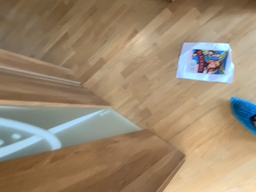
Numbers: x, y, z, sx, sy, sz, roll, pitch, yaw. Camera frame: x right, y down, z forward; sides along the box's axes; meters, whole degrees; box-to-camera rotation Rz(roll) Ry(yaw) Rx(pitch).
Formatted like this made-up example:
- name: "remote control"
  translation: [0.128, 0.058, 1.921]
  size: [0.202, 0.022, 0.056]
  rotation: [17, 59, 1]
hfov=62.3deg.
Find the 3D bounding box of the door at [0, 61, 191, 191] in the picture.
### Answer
- name: "door"
  translation: [-0.380, 0.080, 0.540]
  size: [0.910, 2.080, 0.080]
  rotation: [33, 98, 21]
